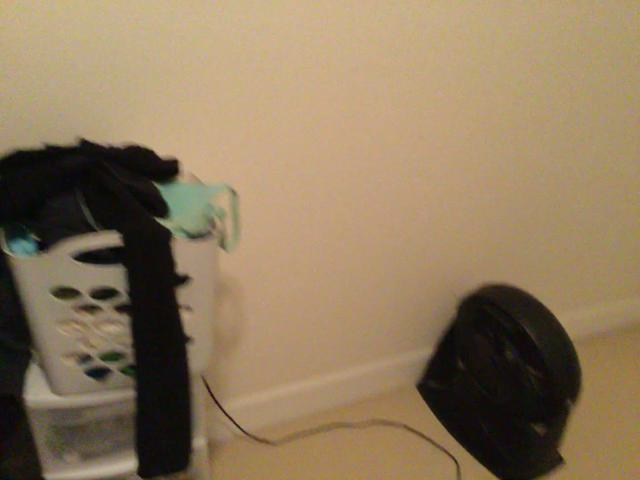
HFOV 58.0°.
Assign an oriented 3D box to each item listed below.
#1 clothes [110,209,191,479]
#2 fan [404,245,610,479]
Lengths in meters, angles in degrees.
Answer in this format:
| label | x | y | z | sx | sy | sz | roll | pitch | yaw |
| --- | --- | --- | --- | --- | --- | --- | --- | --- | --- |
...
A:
| label | x | y | z | sx | sy | sz | roll | pitch | yaw |
| --- | --- | --- | --- | --- | --- | --- | --- | --- | --- |
| clothes | -0.280 | 0.190 | 0.970 | 0.090 | 0.470 | 0.110 | -7 | 27 | -23 |
| fan | 0.510 | 0.370 | 1.730 | 0.200 | 0.510 | 0.500 | -7 | 33 | -24 |
